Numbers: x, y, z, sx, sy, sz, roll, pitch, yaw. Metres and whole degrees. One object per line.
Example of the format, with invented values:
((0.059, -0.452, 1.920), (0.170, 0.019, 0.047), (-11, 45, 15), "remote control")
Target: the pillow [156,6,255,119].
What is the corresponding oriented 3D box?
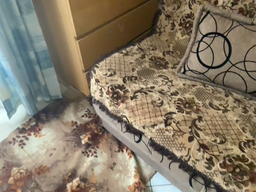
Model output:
((0.480, -0.150, 0.980), (0.600, 0.340, 0.180), (26, 25, 22), "pillow")
